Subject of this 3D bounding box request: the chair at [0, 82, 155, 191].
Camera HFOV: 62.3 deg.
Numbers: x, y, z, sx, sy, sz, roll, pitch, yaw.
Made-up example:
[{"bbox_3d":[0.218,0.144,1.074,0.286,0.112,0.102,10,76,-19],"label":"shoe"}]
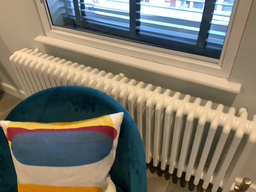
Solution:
[{"bbox_3d":[-0.240,0.450,0.830,0.650,0.720,0.710,1,40,4],"label":"chair"}]
